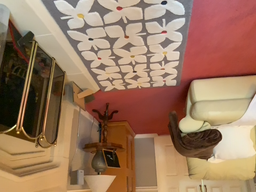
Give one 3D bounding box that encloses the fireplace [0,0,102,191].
[{"bbox_3d":[-0.740,0.210,1.420,0.740,1.170,1.510,-5,158,8],"label":"fireplace"}]
